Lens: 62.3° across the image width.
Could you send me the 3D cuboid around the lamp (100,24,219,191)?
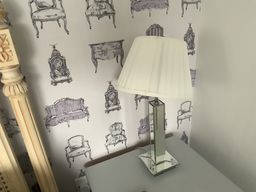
[{"bbox_3d":[0.090,0.030,0.730,0.250,0.480,0.250,-15,29,-21],"label":"lamp"}]
